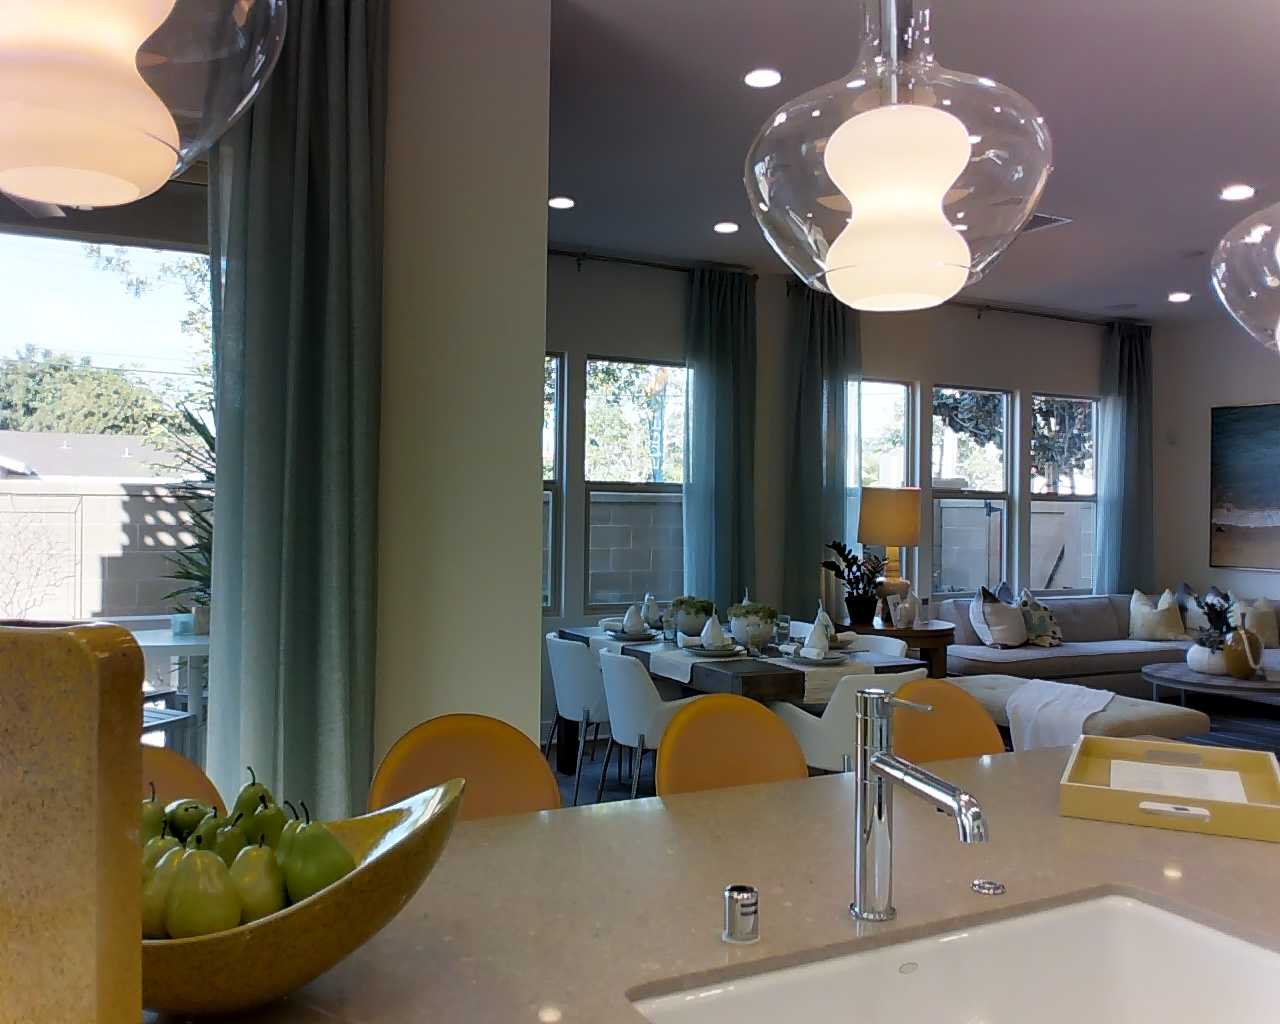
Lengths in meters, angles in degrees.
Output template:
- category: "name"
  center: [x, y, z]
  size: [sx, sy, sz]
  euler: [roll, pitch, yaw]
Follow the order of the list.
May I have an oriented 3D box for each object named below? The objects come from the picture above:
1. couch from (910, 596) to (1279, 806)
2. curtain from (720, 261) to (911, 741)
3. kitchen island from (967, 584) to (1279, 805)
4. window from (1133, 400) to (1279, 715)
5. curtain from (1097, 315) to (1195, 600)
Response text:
- category: "couch"
  center: [3.908, 1.100, 7.260]
  size: [3.069, 0.790, 2.600]
  euler: [1, 0, -27]
- category: "curtain"
  center: [1.199, -0.060, 7.260]
  size: [1.260, 3.051, 0.340]
  euler: [1, 0, -27]
- category: "kitchen island"
  center: [3.548, 1.030, 6.510]
  size: [1.330, 0.960, 2.890]
  euler: [1, 0, -27]
- category: "window"
  center: [4.828, 0.340, 8.560]
  size: [0.260, 2.401, 1.790]
  euler: [1, 0, -27]
- category: "curtain"
  center: [4.158, -0.430, 8.800]
  size: [0.700, 2.261, 0.320]
  euler: [1, 0, -27]
